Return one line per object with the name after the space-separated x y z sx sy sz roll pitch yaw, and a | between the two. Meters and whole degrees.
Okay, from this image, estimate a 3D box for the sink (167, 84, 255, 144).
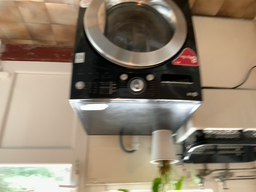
0.630 0.150 1.450 0.600 0.270 0.440 2 156 -7 | sink
